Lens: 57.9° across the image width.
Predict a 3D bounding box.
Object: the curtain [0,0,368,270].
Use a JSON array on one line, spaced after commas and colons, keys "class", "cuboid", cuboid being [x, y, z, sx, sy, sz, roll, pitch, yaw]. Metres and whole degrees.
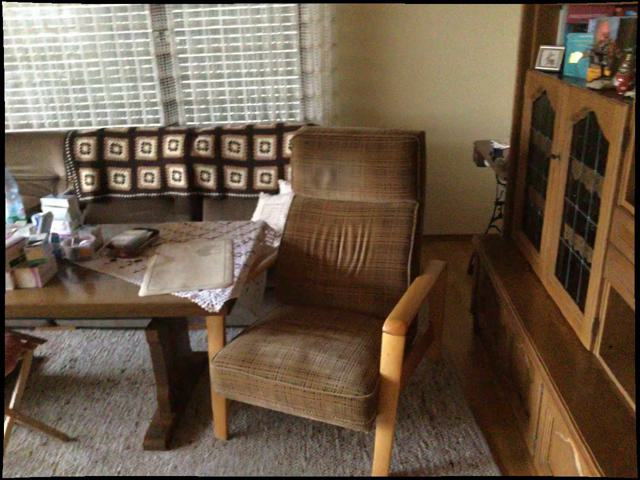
[{"class": "curtain", "cuboid": [-1.219, -0.931, 3.320, 2.907, 2.092, 0.620, -2, 23, 2]}]
